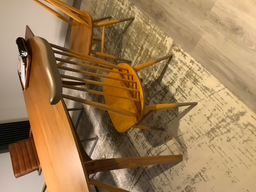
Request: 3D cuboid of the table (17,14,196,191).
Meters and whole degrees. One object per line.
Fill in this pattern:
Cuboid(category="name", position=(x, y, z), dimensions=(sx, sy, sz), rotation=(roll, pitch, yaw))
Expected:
Cuboid(category="table", position=(-0.430, 0.140, 1.990), dimensions=(1.820, 0.750, 0.890), rotation=(55, 134, 34))
